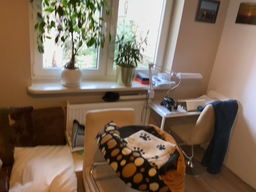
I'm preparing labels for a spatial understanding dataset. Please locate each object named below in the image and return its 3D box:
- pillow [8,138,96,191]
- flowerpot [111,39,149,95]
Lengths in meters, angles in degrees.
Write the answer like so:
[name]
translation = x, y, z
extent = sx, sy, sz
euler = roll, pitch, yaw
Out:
[pillow]
translation = -0.540, 0.540, 1.500
extent = 0.490, 0.200, 0.500
euler = -2, 22, -24
[flowerpot]
translation = 0.010, -0.300, 2.220
extent = 0.270, 0.520, 0.250
euler = 1, 22, -18
